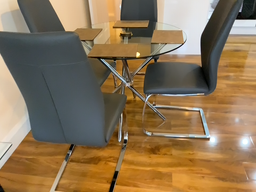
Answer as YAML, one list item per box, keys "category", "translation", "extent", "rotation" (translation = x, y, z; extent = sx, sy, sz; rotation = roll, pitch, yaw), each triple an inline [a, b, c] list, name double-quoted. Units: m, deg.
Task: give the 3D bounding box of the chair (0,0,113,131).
- category: "chair"
  translation: [-0.480, -0.270, 1.740]
  extent: [0.550, 1.010, 0.480]
  rotation: [3, 34, 8]

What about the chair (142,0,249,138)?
- category: "chair"
  translation: [0.410, -0.230, 1.620]
  extent: [0.570, 1.010, 0.460]
  rotation: [2, 33, 7]

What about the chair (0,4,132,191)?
- category: "chair"
  translation: [-0.270, 0.060, 1.230]
  extent: [0.500, 1.000, 0.590]
  rotation: [3, 34, 7]

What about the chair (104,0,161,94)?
- category: "chair"
  translation: [0.080, -0.620, 2.230]
  extent: [0.480, 1.020, 0.580]
  rotation: [2, 33, 7]
